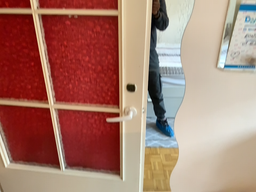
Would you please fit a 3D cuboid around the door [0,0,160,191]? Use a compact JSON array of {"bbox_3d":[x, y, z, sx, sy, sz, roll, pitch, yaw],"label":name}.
[{"bbox_3d":[-0.320,0.150,1.040,0.850,1.960,0.140,3,26,5],"label":"door"}]
